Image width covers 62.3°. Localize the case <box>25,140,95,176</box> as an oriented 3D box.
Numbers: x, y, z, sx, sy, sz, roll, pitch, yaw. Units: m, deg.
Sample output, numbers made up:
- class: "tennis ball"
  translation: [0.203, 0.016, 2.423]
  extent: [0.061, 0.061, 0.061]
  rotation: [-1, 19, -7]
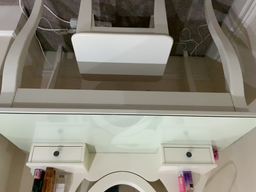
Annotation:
- class: "case"
  translation: [-0.300, 0.290, 0.990]
  extent: [0.280, 0.130, 0.140]
  rotation: [1, 150, -5]
